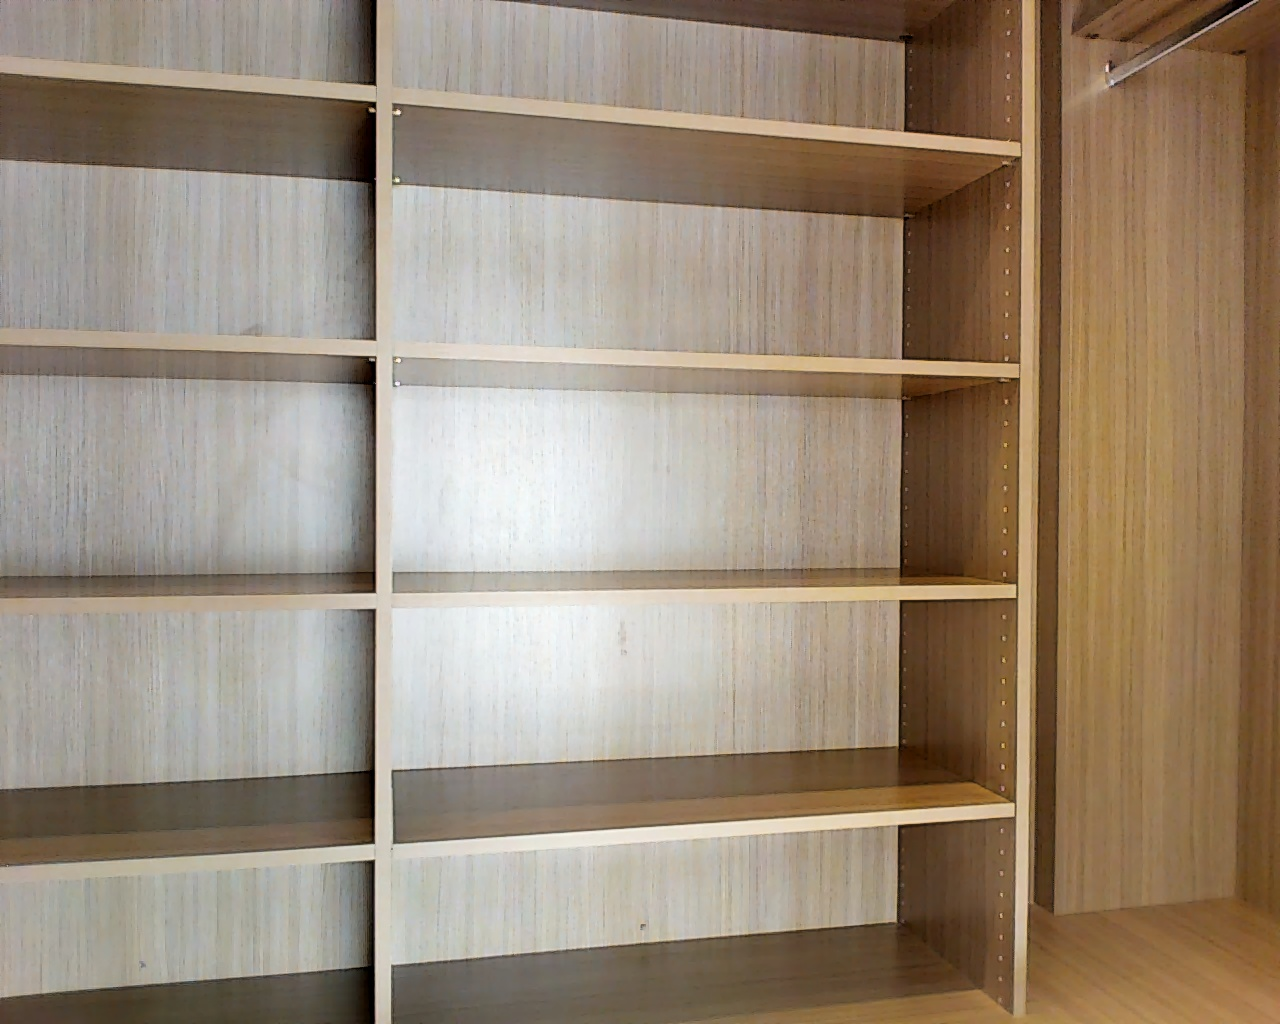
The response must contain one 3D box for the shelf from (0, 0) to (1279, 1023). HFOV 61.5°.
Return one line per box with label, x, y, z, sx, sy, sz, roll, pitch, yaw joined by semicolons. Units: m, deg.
shelf;-0.090;-0.210;0.360;3.209;1.951;2.910;0;1;-13
